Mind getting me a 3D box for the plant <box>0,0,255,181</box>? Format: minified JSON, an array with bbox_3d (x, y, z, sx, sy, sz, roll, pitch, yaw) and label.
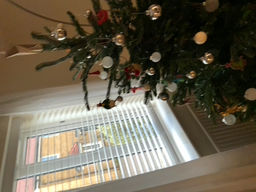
[{"bbox_3d":[0.340,-0.370,1.270,1.100,1.800,0.920,96,160,-47],"label":"plant"}]
